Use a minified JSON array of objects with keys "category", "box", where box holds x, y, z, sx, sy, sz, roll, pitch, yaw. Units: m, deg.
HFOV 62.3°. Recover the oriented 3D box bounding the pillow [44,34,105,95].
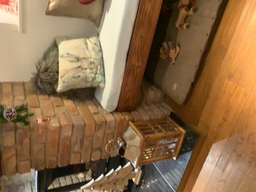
[{"category":"pillow","box":[-0.380,-0.230,1.540,0.110,0.290,0.410,-32,80,32]}]
